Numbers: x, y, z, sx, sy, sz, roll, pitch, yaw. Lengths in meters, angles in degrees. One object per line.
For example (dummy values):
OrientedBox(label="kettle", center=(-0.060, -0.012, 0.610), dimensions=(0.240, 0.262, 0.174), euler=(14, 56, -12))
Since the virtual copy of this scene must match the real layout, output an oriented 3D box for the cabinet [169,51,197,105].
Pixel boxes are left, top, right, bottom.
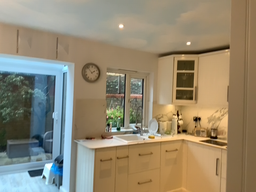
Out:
OrientedBox(label="cabinet", center=(1.000, -0.310, 3.940), dimensions=(0.390, 0.910, 0.580), euler=(2, 0, 7))
